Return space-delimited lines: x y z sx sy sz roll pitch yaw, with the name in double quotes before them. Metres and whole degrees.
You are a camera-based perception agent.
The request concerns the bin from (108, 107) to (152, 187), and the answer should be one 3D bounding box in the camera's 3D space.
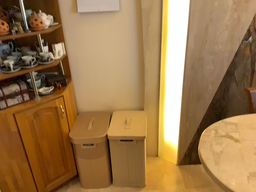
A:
"bin" 0.030 0.440 1.890 0.330 0.550 0.420 -1 26 3
